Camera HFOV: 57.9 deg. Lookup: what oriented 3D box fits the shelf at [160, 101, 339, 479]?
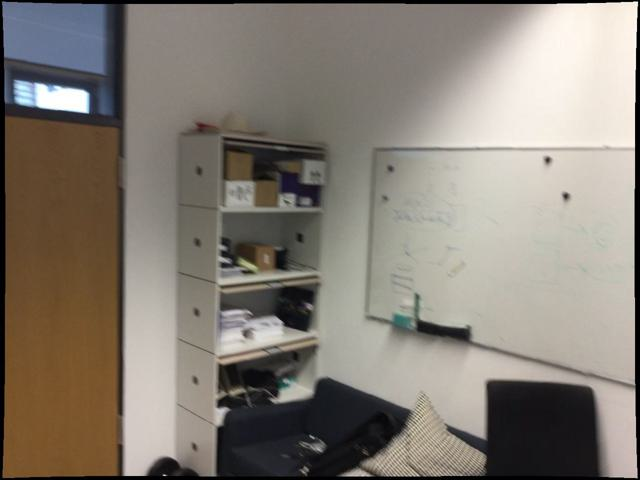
[{"bbox_3d":[-0.400,0.330,3.480,0.920,2.162,0.490,-6,9,-43],"label":"shelf"}]
